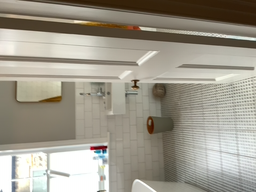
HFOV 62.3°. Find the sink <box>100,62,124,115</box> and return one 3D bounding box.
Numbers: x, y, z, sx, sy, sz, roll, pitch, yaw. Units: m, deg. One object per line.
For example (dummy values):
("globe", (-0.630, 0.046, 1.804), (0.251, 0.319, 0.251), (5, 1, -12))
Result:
("sink", (-0.210, -0.060, 2.590), (0.510, 0.170, 0.580), (163, 105, -72))
